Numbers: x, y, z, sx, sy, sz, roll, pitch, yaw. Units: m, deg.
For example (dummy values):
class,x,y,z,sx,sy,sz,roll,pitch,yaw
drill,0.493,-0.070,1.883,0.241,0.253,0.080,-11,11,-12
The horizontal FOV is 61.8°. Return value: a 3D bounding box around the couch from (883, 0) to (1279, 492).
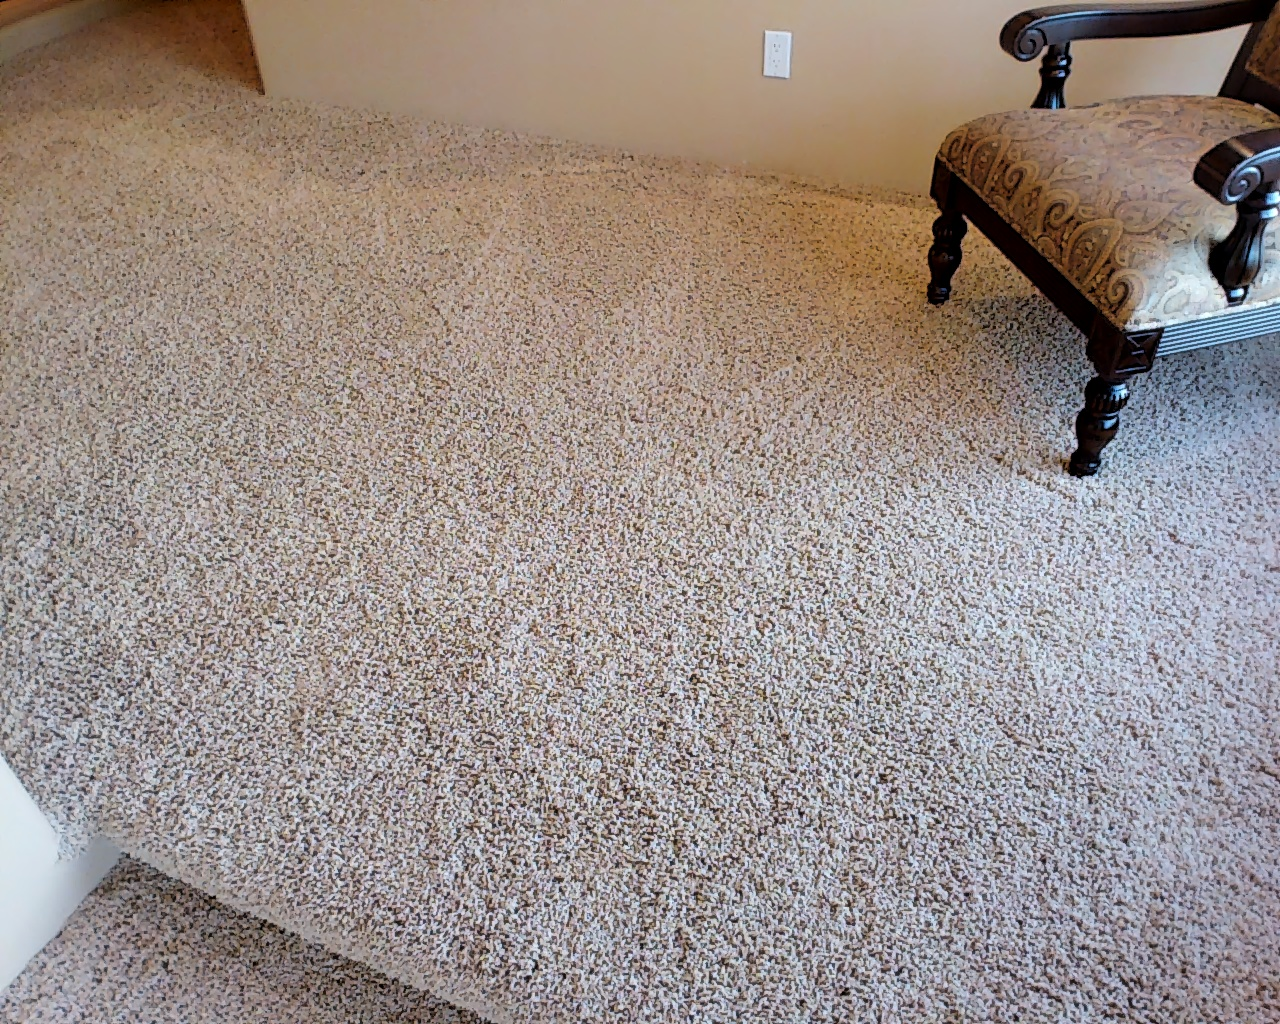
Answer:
class,x,y,z,sx,sy,sz,roll,pitch,yaw
couch,1.060,-0.730,1.960,0.850,0.980,0.790,-10,43,-9
